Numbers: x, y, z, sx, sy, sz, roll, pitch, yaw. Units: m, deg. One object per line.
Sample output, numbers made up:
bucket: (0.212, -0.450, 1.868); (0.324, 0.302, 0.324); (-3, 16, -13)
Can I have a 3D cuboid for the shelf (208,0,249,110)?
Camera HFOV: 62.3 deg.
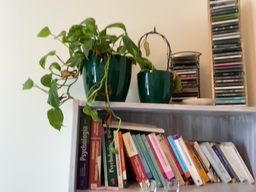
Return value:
shelf: (0.490, -0.220, 1.060); (0.150, 0.570, 0.150); (-2, -9, 21)
